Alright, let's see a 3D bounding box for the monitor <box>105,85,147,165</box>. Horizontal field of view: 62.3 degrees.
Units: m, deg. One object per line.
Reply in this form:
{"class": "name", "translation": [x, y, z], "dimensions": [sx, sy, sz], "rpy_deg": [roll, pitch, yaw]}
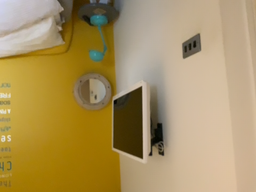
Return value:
{"class": "monitor", "translation": [-0.050, 0.190, 1.530], "dimensions": [0.050, 0.440, 0.740], "rpy_deg": [-2, 175, -19]}
